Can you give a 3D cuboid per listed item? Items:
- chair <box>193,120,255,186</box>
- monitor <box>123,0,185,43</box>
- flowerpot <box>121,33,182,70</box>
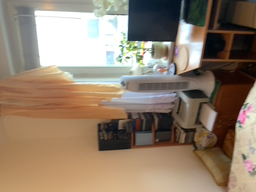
[{"bbox_3d":[1.030,0.520,2.040,0.480,0.580,0.350,-112,23,-63],"label":"chair"},{"bbox_3d":[0.230,-0.810,1.690,0.050,0.470,0.730,-110,23,-63],"label":"monitor"},{"bbox_3d":[0.220,-0.450,2.150,0.270,0.540,0.290,-110,21,-61],"label":"flowerpot"}]
